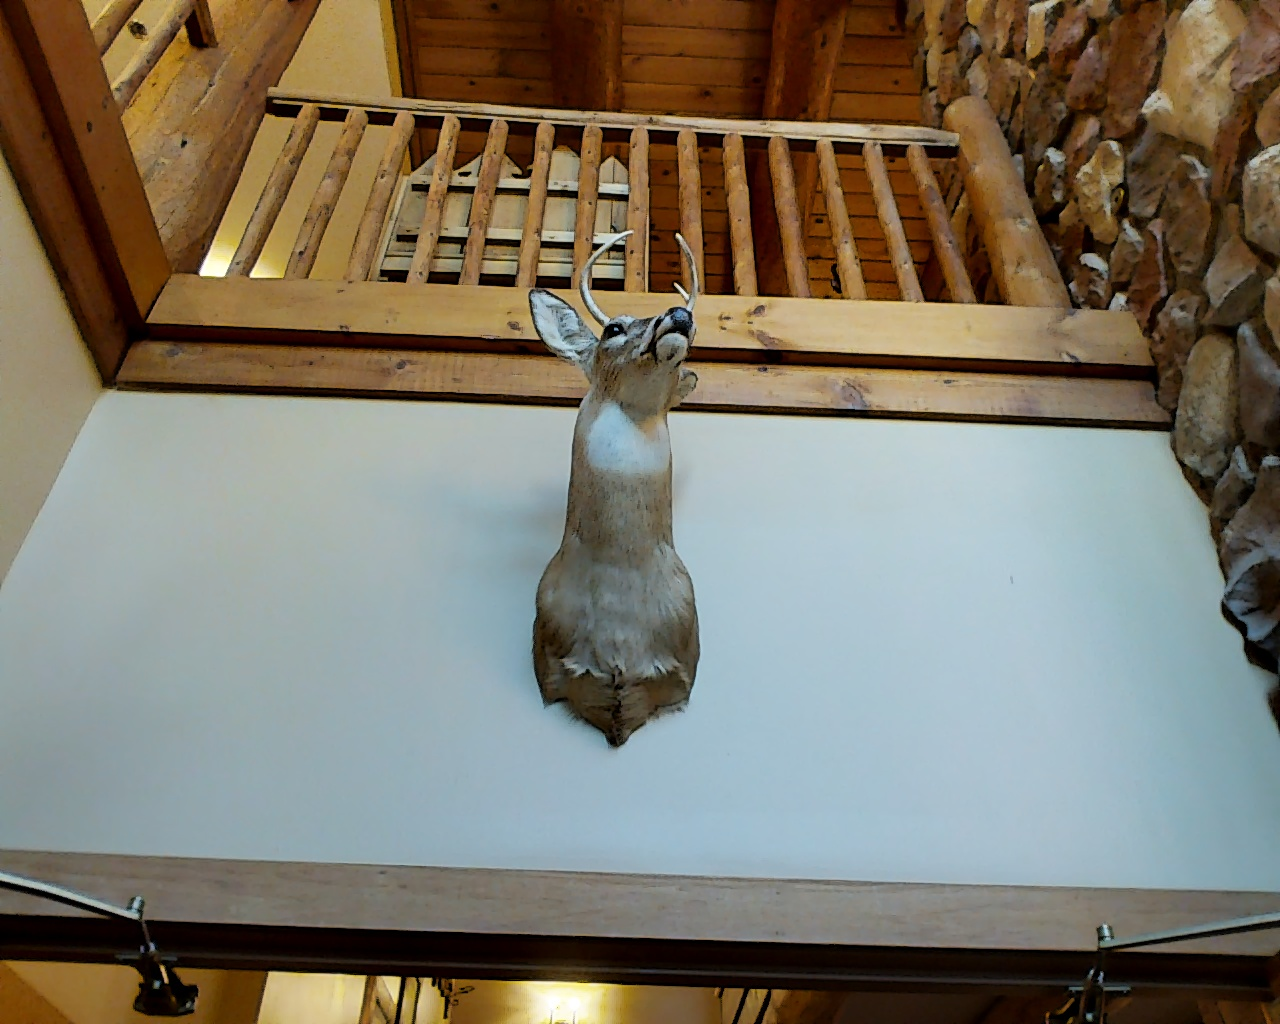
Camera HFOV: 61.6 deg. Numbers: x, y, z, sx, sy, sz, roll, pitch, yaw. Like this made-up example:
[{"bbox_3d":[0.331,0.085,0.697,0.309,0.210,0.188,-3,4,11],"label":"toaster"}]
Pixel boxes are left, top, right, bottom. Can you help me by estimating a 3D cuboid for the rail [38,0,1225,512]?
[{"bbox_3d":[0.000,-0.790,2.660,2.169,1.470,0.570,3,-41,-1],"label":"rail"}]
